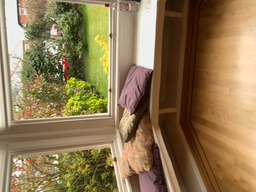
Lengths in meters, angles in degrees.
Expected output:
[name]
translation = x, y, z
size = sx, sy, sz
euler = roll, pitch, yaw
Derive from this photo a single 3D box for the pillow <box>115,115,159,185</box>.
[pillow]
translation = 0.050, 0.510, 1.960
size = 0.500, 0.150, 0.500
euler = 120, 143, -55
